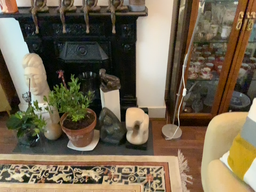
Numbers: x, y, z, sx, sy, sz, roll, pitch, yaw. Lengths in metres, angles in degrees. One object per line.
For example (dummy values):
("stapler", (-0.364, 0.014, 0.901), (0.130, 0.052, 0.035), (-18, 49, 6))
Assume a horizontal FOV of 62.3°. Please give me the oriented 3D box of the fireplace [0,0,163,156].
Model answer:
("fireplace", (-0.370, -0.210, 1.820), (1.180, 1.040, 0.930), (0, 35, 3))
